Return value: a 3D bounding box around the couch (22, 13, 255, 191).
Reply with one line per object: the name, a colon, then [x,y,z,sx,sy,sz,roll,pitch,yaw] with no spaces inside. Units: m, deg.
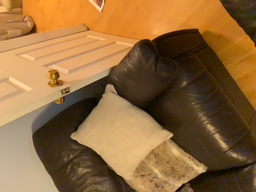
couch: [0.300,0.480,1.220,1.440,0.940,0.910,55,138,3]
